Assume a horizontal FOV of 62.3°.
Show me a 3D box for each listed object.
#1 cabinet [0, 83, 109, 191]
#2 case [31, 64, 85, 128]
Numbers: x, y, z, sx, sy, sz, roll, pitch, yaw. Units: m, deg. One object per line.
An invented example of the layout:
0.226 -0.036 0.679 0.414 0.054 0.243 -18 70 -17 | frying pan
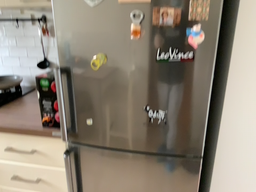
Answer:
-0.470 0.430 1.430 0.510 0.870 0.630 4 20 10 | cabinet
-0.320 -0.010 1.020 0.140 0.240 0.220 4 20 11 | case
